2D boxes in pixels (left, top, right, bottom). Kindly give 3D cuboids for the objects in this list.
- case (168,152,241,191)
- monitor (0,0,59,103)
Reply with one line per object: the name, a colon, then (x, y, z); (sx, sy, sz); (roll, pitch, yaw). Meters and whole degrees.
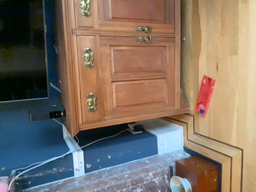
case: (0.510, 0.620, 1.470); (0.390, 0.270, 0.290); (11, 105, 63)
monitor: (-0.730, -0.400, 1.230); (0.050, 0.610, 0.950); (44, 134, 53)
